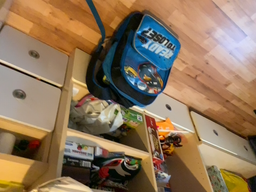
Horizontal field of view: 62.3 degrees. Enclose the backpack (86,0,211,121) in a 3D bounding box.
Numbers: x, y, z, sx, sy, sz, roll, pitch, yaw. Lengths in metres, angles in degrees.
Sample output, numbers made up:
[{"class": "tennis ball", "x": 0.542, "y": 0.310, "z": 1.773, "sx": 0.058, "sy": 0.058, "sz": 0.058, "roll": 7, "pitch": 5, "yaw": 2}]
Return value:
[{"class": "backpack", "x": 0.080, "y": -0.150, "z": 1.050, "sx": 0.430, "sy": 0.320, "sz": 0.360, "roll": 22, "pitch": 132, "yaw": -35}]
